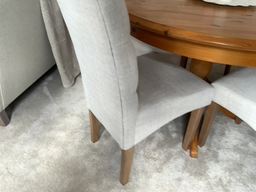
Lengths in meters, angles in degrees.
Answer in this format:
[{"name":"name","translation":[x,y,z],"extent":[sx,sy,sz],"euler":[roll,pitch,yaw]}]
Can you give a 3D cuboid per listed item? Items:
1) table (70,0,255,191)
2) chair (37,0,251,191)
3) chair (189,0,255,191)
[{"name":"table","translation":[0.430,-0.180,1.300],"extent":[1.110,0.740,1.140],"euler":[-20,42,-29]},{"name":"chair","translation":[0.040,-0.080,0.940],"extent":[0.590,0.960,0.470],"euler":[-23,44,-32]},{"name":"chair","translation":[0.730,-0.020,0.900],"extent":[0.450,0.960,0.570],"euler":[-20,42,-29]}]
